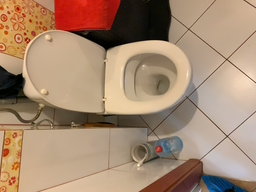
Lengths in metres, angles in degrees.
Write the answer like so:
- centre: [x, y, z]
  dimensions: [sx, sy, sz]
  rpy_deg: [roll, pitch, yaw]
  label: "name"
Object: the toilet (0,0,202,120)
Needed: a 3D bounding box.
- centre: [-0.050, -0.090, 1.080]
  dimensions: [0.710, 0.730, 0.370]
  rpy_deg: [0, 83, 26]
  label: "toilet"
